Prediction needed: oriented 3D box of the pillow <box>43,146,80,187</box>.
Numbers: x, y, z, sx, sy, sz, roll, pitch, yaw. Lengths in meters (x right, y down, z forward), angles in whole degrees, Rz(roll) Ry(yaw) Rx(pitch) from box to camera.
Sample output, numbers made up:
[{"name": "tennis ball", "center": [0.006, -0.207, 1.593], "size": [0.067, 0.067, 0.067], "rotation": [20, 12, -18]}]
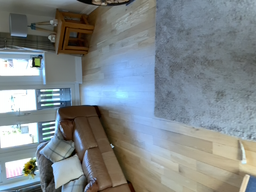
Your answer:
[{"name": "pillow", "center": [-0.850, 0.910, 2.780], "size": [0.490, 0.370, 0.160], "rotation": [-101, 7, -60]}]

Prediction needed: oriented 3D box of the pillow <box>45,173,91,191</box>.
[{"name": "pillow", "center": [-0.730, 1.150, 2.560], "size": [0.230, 0.460, 0.340], "rotation": [71, -162, -47]}]

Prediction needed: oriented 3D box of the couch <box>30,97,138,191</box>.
[{"name": "couch", "center": [-0.740, 0.970, 2.940], "size": [1.580, 0.870, 1.070], "rotation": [60, 140, 35]}]

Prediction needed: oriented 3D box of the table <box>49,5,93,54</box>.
[{"name": "table", "center": [-0.910, -1.020, 3.320], "size": [0.390, 0.500, 0.550], "rotation": [61, 140, 34]}]
